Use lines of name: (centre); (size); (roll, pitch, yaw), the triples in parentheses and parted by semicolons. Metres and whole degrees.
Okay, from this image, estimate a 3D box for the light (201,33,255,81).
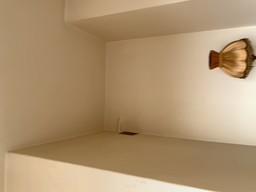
light: (0.630, -0.200, 1.170); (0.310, 0.390, 0.200); (3, -91, -65)
